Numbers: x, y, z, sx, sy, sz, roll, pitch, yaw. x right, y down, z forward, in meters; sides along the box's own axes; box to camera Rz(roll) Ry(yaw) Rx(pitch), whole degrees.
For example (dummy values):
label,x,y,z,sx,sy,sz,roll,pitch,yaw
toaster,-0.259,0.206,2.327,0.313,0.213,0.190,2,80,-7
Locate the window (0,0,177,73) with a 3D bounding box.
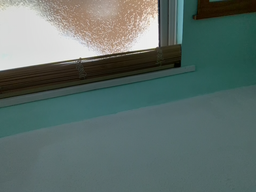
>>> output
label,x,y,z,sx,sy,sz,roll,pitch,yaw
window,-0.310,-0.640,1.010,1.130,0.950,0.110,-10,-151,-9
